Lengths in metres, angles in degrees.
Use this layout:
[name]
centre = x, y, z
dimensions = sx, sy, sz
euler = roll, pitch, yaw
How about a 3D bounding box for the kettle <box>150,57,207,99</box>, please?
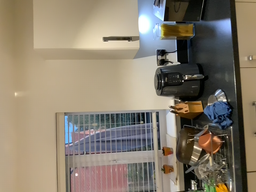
[kettle]
centre = 0.380, -0.130, 1.680
dimensions = 0.330, 0.330, 0.270
euler = 138, 129, -81
